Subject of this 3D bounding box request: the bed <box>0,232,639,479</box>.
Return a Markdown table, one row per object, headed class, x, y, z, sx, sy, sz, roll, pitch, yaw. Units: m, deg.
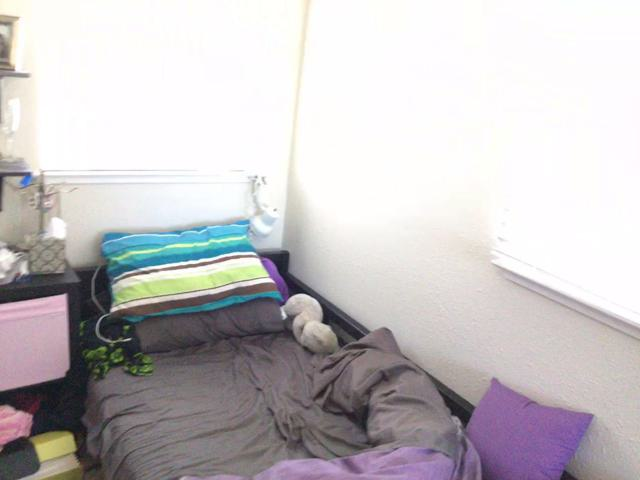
| class | x | y | z | sx | sy | sz | roll | pitch | yaw |
| --- | --- | --- | --- | --- | --- | --- | --- | --- | --- |
| bed | -0.160 | 0.700 | 1.850 | 1.220 | 0.900 | 2.160 | 3 | 13 | -36 |
